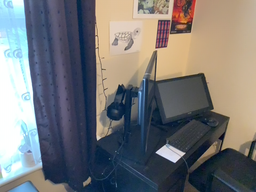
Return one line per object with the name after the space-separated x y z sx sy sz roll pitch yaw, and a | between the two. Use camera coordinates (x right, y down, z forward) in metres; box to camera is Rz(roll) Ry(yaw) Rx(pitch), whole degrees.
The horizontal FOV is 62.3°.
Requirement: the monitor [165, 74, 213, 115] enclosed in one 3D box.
0.530 0.000 1.790 0.480 0.280 0.040 8 3 -33 | monitor
